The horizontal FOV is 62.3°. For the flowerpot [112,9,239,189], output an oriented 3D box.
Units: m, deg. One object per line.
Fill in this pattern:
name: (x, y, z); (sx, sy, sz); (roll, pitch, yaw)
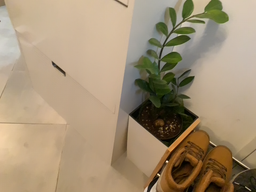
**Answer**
flowerpot: (0.120, 0.100, 0.900); (0.180, 0.830, 0.260); (38, 54, 21)
